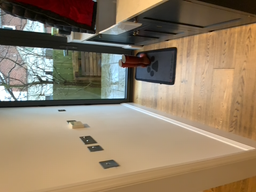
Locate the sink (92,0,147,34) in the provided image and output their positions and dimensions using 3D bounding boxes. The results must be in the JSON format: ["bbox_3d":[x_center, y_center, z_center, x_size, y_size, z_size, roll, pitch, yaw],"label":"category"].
[{"bbox_3d":[-0.100,-0.910,1.920,0.600,0.280,0.570,14,104,63],"label":"sink"}]
